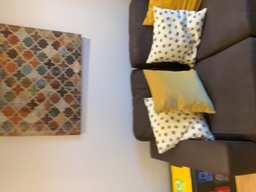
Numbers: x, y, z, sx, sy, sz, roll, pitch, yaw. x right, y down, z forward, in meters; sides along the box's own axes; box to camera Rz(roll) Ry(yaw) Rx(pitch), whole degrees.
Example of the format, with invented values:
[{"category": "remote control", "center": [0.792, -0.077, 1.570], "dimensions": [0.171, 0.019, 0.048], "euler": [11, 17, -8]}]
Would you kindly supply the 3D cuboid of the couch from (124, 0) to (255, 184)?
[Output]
[{"category": "couch", "center": [0.570, -0.320, 1.750], "dimensions": [1.020, 0.880, 1.670], "euler": [157, 113, -67]}]
